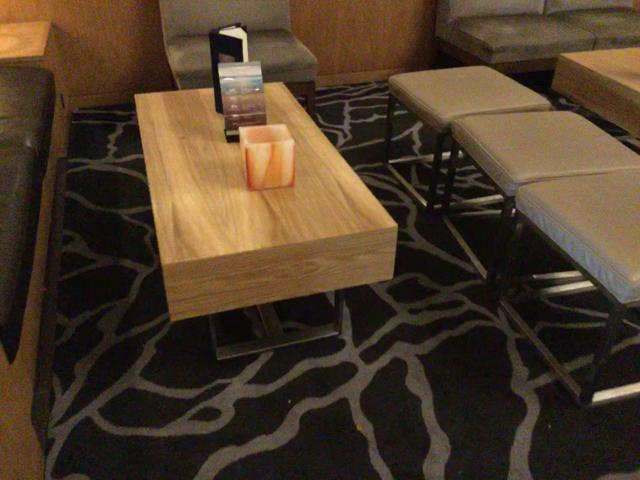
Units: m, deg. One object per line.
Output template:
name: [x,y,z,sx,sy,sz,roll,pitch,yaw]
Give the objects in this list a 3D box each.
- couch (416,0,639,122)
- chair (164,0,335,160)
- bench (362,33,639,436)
couch: [1.560,-1.370,3.450,1.710,0.780,0.860,-12,36,-12]
chair: [-0.370,-0.970,2.980,0.700,0.780,0.600,-14,40,-10]
bench: [0.760,-0.240,2.080,0.750,0.460,1.750,-10,35,-9]
